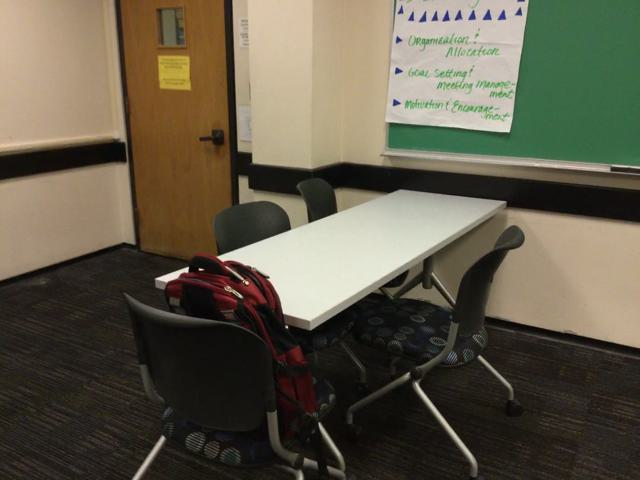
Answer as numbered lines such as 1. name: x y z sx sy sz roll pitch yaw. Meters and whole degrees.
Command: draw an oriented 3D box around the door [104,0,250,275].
1. door: -0.970 -0.940 3.850 0.990 2.280 0.200 3 8 29
